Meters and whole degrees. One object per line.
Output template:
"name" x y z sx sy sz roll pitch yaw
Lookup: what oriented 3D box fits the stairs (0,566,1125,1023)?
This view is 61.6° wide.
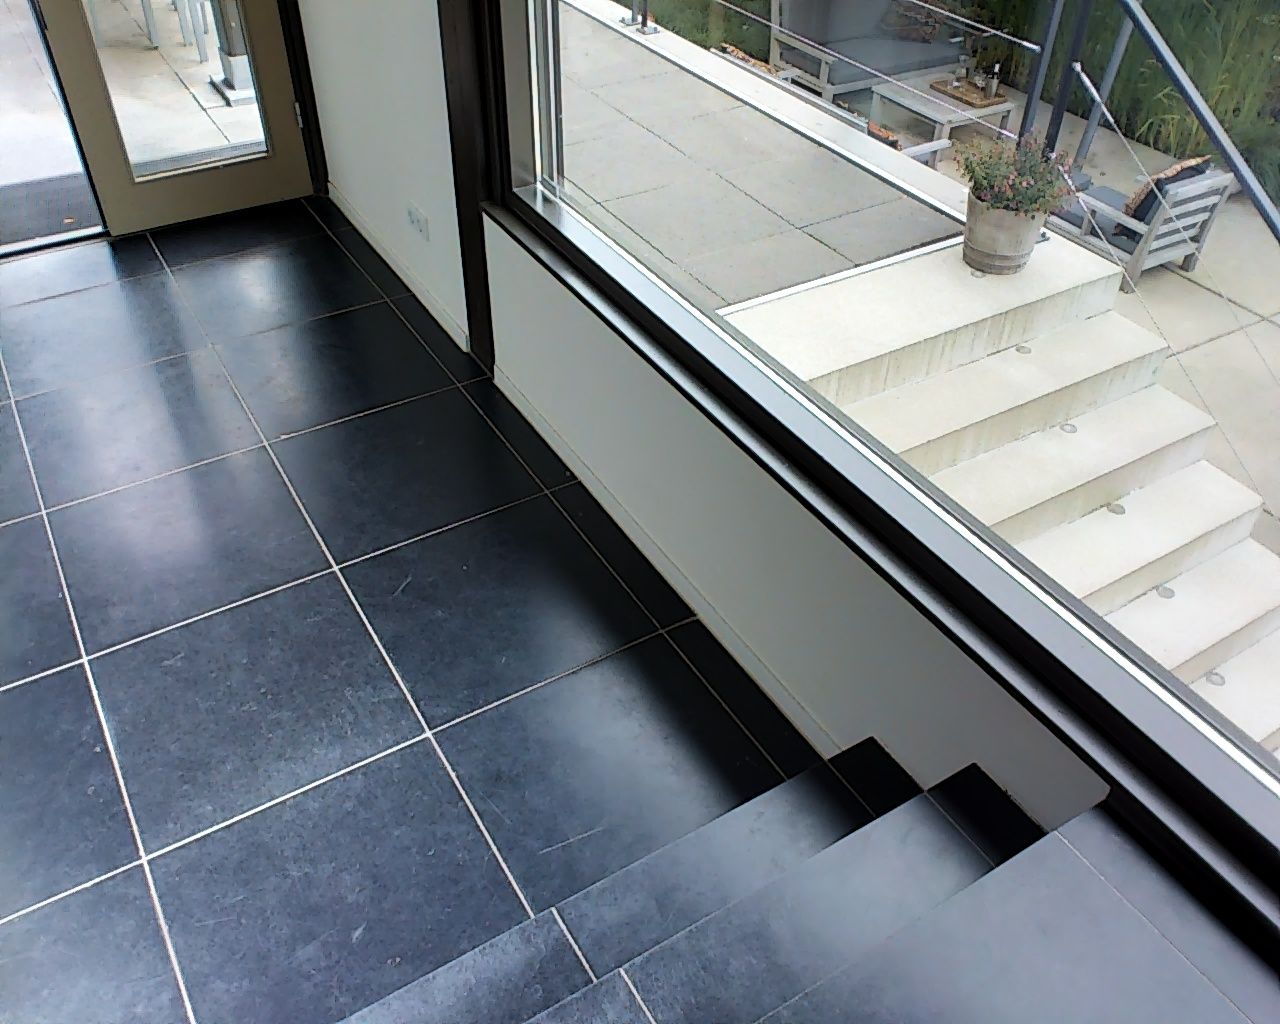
"stairs" -0.190 0.760 1.570 1.780 0.640 0.490 -20 46 -24
